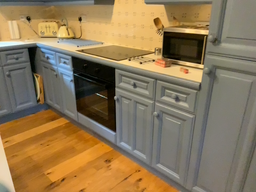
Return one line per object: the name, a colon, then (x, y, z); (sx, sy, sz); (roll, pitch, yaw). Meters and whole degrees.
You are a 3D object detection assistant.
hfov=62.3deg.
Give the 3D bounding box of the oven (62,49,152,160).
oven: (-0.200, 0.030, 2.140); (0.600, 0.850, 0.580); (20, 30, 38)
